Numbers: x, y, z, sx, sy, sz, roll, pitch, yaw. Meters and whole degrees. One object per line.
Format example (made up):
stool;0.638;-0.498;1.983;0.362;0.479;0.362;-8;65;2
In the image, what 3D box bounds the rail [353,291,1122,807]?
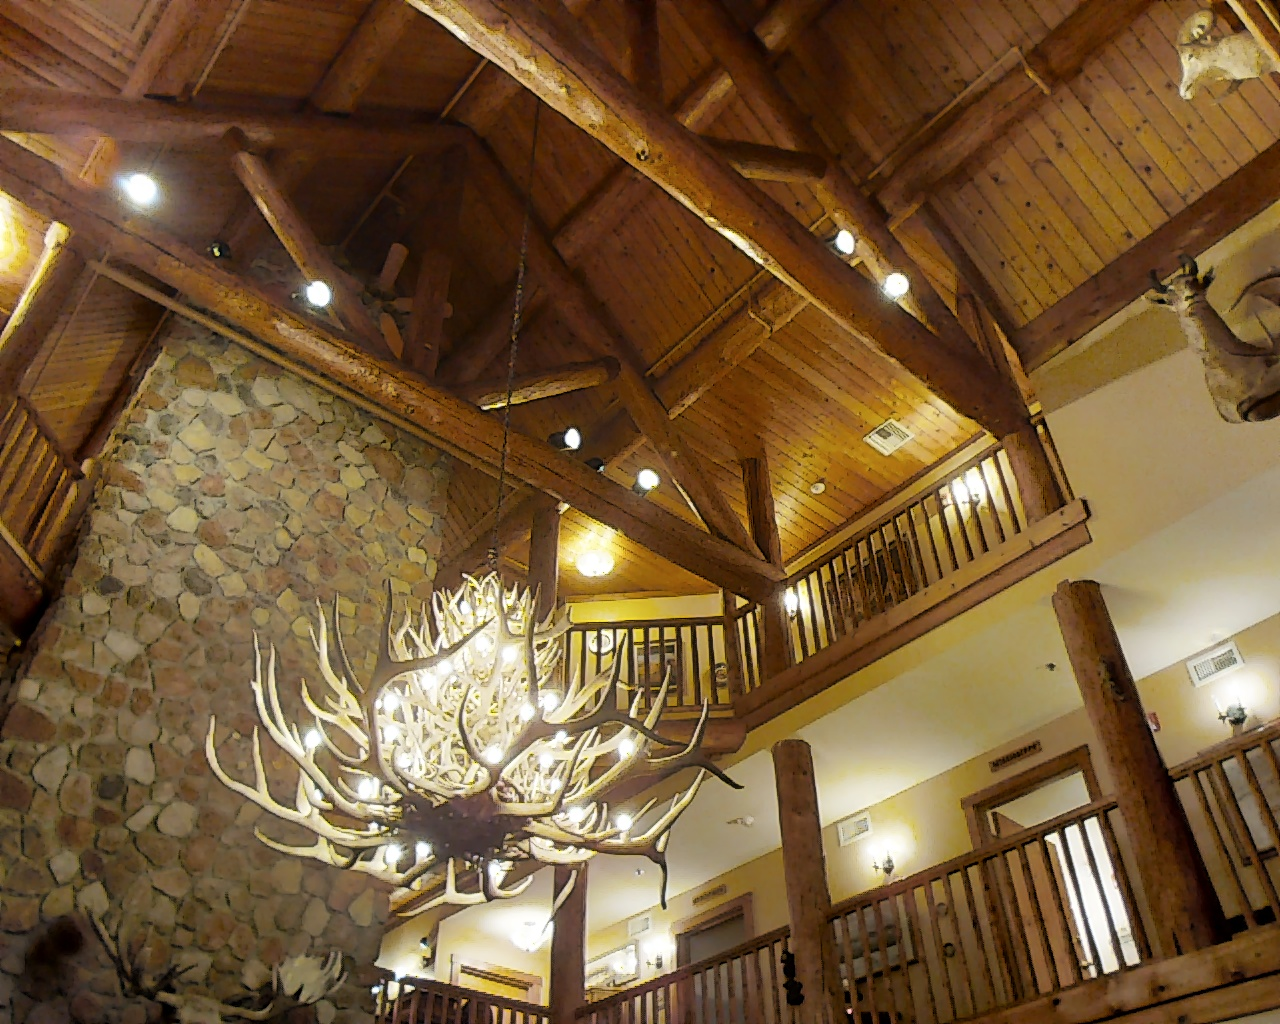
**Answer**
rail;0.570;0.470;9.500;6.128;2.641;1.330;-19;-44;19
